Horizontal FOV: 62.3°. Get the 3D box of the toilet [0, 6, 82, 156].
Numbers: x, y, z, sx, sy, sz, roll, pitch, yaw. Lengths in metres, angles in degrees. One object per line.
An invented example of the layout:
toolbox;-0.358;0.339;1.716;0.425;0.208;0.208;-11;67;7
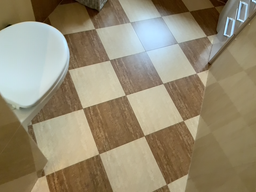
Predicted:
toilet;-0.530;-0.050;1.110;0.370;0.460;0.530;22;61;-2
